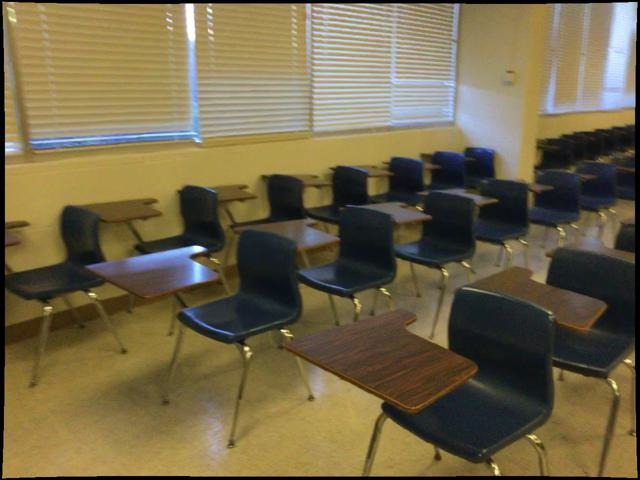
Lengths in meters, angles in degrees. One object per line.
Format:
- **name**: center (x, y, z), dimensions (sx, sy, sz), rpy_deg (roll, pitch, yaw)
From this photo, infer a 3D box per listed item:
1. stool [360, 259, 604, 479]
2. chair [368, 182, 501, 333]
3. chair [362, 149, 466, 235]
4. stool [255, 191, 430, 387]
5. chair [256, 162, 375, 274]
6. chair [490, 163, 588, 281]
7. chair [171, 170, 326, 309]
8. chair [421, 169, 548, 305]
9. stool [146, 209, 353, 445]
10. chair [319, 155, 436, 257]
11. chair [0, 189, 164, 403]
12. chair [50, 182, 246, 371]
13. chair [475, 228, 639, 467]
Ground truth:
- **stool**: center (0.539, 0.571, 1.970), dimensions (0.479, 0.802, 0.629), rpy_deg (18, 23, 41)
- **chair**: center (0.728, 0.070, 3.650), dimensions (0.479, 0.722, 0.719), rpy_deg (15, 22, 37)
- **chair**: center (0.878, -0.471, 5.300), dimensions (0.499, 0.581, 0.919), rpy_deg (15, 22, 37)
- **stool**: center (0.130, 0.211, 3.180), dimensions (0.529, 0.772, 0.829), rpy_deg (16, 22, 38)
- **chair**: center (-0.030, -0.201, 4.360), dimensions (0.519, 0.631, 0.749), rpy_deg (15, 22, 37)
- **chair**: center (1.726, -0.170, 4.540), dimensions (0.429, 0.752, 0.669), rpy_deg (15, 22, 37)
- **chair**: center (-0.459, -0.050, 3.900), dimensions (0.519, 0.672, 0.909), rpy_deg (15, 22, 37)
- **chair**: center (1.187, -0.060, 4.150), dimensions (0.549, 0.752, 0.729), rpy_deg (15, 22, 37)
- **stool**: center (-0.309, 0.341, 2.710), dimensions (0.529, 0.772, 0.769), rpy_deg (16, 22, 38)
- **chair**: center (0.489, -0.321, 4.860), dimensions (0.549, 0.642, 0.869), rpy_deg (15, 22, 37)
- **chair**: center (-1.406, 0.241, 2.900), dimensions (0.509, 0.772, 1.069), rpy_deg (15, 22, 37)
- **chair**: center (-0.967, 0.150, 3.420), dimensions (0.509, 0.802, 0.959), rpy_deg (15, 22, 37)
- **chair**: center (1.047, 0.401, 2.440), dimensions (0.469, 0.722, 0.599), rpy_deg (15, 22, 37)
